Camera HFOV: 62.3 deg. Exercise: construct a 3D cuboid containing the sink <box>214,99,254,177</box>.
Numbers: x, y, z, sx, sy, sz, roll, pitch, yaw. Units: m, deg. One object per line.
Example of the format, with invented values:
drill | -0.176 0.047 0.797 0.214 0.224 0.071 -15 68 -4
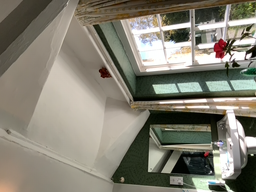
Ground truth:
sink | 1.090 0.450 2.260 0.460 0.240 0.700 59 -148 -57
